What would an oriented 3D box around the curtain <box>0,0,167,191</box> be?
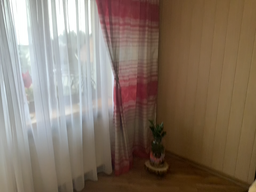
[{"bbox_3d":[-0.270,-0.190,2.350,0.170,2.570,2.130,13,19,40],"label":"curtain"}]
